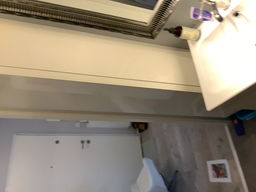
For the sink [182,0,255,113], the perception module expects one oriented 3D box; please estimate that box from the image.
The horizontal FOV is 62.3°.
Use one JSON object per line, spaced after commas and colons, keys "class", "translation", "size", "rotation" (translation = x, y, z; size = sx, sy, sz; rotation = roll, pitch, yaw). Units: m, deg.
{"class": "sink", "translation": [0.520, -0.270, 0.950], "size": [0.630, 0.120, 0.480], "rotation": [128, 141, -55]}
